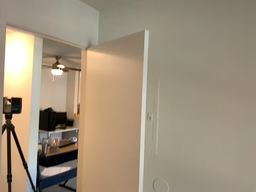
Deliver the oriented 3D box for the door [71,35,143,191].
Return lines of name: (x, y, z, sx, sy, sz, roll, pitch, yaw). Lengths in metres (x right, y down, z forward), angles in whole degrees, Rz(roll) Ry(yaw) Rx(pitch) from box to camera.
door: (-0.240, 0.580, 1.690, 0.040, 1.960, 0.880, 3, 0, -38)
